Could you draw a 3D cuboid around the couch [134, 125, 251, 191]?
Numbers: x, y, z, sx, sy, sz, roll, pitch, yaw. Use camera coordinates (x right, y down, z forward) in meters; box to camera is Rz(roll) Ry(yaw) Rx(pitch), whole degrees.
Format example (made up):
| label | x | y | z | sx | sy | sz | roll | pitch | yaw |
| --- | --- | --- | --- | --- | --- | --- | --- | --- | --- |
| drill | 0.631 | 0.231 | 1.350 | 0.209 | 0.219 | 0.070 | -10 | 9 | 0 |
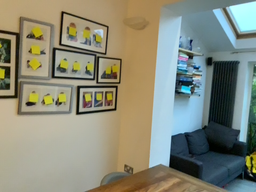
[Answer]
| label | x | y | z | sx | sy | sz | roll | pitch | yaw |
| --- | --- | --- | --- | --- | --- | --- | --- | --- | --- |
| couch | 1.080 | 0.980 | 3.340 | 1.760 | 0.730 | 0.950 | 0 | 5 | -43 |
